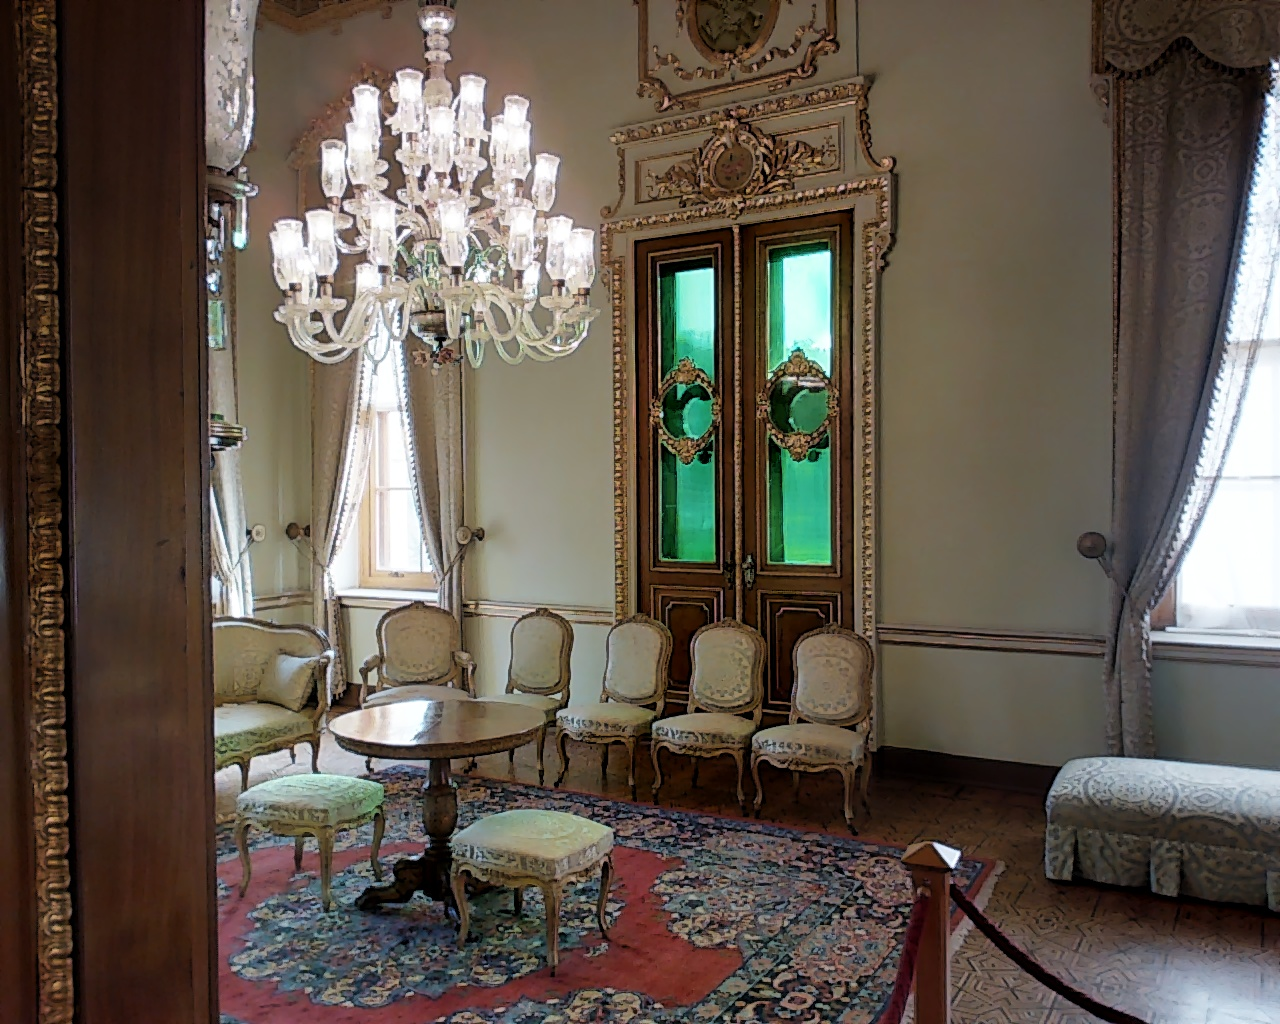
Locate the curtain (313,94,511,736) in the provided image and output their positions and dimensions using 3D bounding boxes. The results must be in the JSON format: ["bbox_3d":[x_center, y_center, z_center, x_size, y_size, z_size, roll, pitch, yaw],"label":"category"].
[{"bbox_3d":[-1.819,-0.700,8.390,1.909,4.672,0.140,0,1,32],"label":"curtain"}]

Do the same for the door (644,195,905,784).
[{"bbox_3d":[0.820,-0.130,6.900,1.719,3.492,0.190,0,1,32],"label":"door"}]

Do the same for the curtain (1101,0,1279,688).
[{"bbox_3d":[3.309,-1.251,5.210,1.969,4.222,0.150,0,1,32],"label":"curtain"}]
